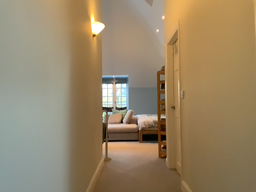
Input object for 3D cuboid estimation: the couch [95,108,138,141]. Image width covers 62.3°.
[{"bbox_3d":[-0.270,0.790,6.320,1.100,0.790,1.660,-1,-2,2],"label":"couch"}]
